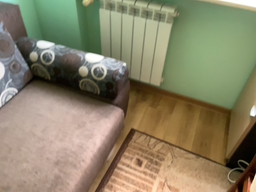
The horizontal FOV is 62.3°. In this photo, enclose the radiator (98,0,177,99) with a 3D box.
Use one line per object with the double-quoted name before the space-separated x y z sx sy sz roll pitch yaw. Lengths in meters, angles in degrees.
"radiator" 0.040 -0.340 1.540 0.480 0.660 0.140 21 47 17
